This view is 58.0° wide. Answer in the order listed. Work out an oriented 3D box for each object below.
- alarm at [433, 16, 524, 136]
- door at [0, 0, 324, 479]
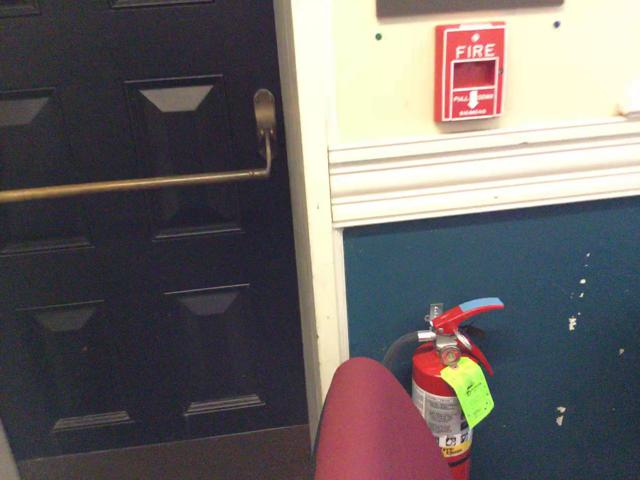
[{"bbox_3d":[0.230,-0.240,0.850,0.120,0.160,0.030,-5,21,-5],"label":"alarm"},{"bbox_3d":[-0.430,0.070,1.360,0.800,1.550,0.170,-5,21,-5],"label":"door"}]
